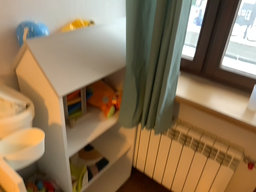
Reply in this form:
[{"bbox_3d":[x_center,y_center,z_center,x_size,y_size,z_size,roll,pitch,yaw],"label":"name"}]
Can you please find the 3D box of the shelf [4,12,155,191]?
[{"bbox_3d":[-0.230,0.200,1.370,0.320,1.290,0.680,25,37,28],"label":"shelf"}]
